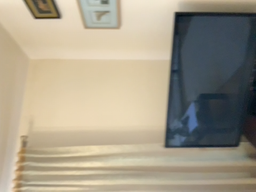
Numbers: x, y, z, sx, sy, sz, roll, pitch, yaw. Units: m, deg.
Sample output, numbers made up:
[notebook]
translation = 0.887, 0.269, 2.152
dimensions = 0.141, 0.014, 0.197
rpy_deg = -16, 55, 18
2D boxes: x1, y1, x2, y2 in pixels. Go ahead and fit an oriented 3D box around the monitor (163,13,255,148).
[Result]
[monitor]
translation = 0.710, -0.070, 1.800
dimensions = 0.110, 0.700, 1.160
rpy_deg = -93, 4, -66
